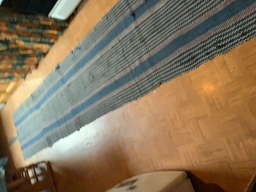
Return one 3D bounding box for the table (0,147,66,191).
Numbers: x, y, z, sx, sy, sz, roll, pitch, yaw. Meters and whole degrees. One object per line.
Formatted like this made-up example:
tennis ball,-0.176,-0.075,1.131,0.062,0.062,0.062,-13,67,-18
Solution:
table,-1.470,1.210,2.550,1.360,0.770,0.640,-32,76,39
